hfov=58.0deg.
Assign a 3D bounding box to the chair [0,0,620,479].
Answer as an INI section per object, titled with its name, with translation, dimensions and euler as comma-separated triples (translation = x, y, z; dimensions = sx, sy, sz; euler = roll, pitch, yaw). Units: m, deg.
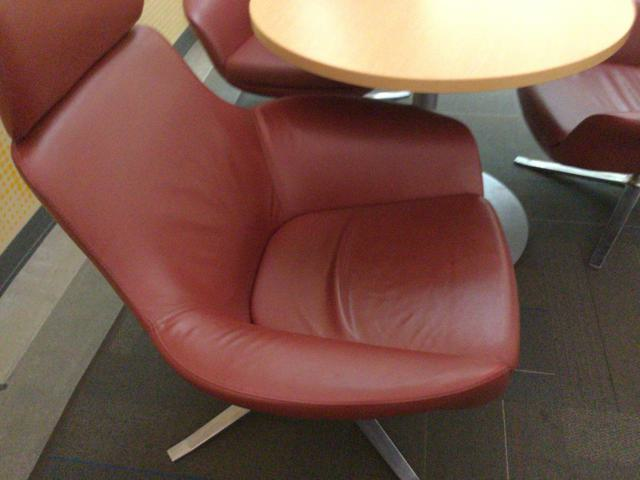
[chair]
translation = -0.020, -0.040, 1.160
dimensions = 0.820, 1.050, 0.890
euler = 5, 46, 15
